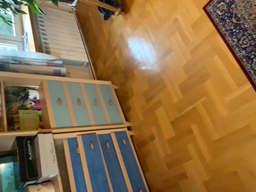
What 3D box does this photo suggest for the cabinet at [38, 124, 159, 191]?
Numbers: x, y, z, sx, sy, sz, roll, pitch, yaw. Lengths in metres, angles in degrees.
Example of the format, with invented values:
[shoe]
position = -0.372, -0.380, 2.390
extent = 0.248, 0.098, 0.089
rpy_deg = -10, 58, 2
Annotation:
[cabinet]
position = -0.260, 0.740, 1.970
extent = 0.410, 0.890, 0.800
rpy_deg = -42, 58, 42

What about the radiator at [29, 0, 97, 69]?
[radiator]
position = -0.900, -0.850, 2.930
extent = 0.140, 0.750, 0.980
rpy_deg = -41, 58, 43
